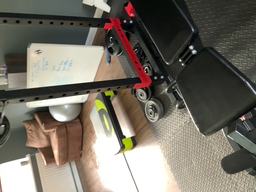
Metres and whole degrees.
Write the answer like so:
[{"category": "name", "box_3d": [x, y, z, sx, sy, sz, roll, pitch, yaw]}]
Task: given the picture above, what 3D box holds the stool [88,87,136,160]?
[{"category": "stool", "box_3d": [-0.230, 0.320, 2.620, 0.810, 0.210, 0.360, 63, 143, 27]}]
